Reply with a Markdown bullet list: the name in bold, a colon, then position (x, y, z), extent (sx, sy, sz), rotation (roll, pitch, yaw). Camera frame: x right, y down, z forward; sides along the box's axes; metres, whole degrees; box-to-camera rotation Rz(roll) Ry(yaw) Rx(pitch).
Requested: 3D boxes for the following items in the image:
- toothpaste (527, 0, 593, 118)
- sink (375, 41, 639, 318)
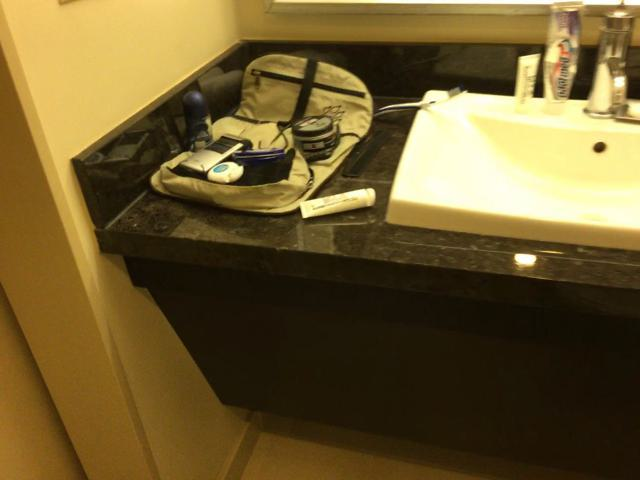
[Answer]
- **toothpaste**: position (0.390, -0.310, 0.950), extent (0.060, 0.190, 0.090), rotation (6, 35, 13)
- **sink**: position (0.430, -0.120, 0.870), extent (0.620, 0.210, 0.470), rotation (6, 35, 13)
